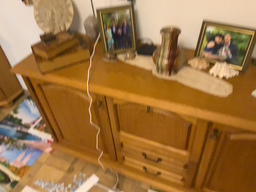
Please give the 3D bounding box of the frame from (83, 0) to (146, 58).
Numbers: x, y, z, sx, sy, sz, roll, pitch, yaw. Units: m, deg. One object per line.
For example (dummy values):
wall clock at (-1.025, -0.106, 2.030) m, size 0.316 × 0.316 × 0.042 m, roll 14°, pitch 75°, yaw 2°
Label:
frame at (-0.060, -0.360, 1.130) m, size 0.230 × 0.210 × 0.190 m, roll 11°, pitch 54°, yaw 23°
